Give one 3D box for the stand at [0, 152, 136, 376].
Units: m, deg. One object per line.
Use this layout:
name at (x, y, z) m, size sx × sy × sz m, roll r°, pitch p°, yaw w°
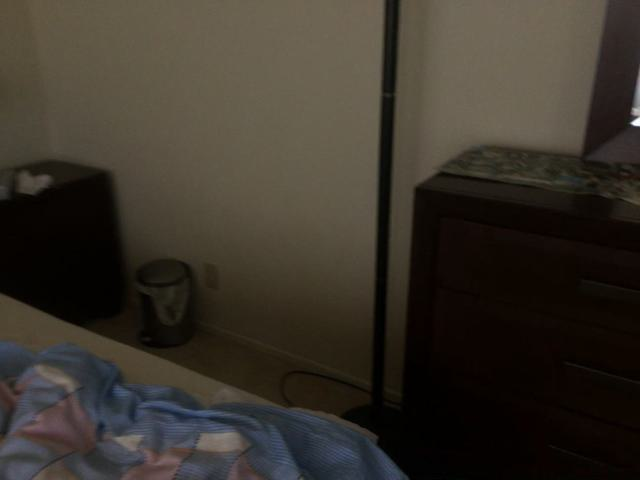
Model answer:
stand at (-1.170, 0.070, 2.230) m, size 0.360 × 0.670 × 0.770 m, roll 11°, pitch 22°, yaw 29°
